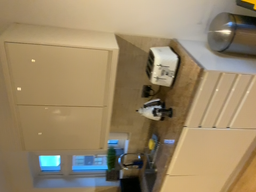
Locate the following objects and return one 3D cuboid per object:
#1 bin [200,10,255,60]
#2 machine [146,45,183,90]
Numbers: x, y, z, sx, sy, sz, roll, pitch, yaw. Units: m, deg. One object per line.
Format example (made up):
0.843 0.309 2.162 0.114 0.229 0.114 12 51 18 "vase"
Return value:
1.020 -0.490 1.750 0.340 0.670 0.270 -105 21 -56 "bin"
0.300 -0.250 1.830 0.270 0.190 0.280 -104 20 -55 "machine"
